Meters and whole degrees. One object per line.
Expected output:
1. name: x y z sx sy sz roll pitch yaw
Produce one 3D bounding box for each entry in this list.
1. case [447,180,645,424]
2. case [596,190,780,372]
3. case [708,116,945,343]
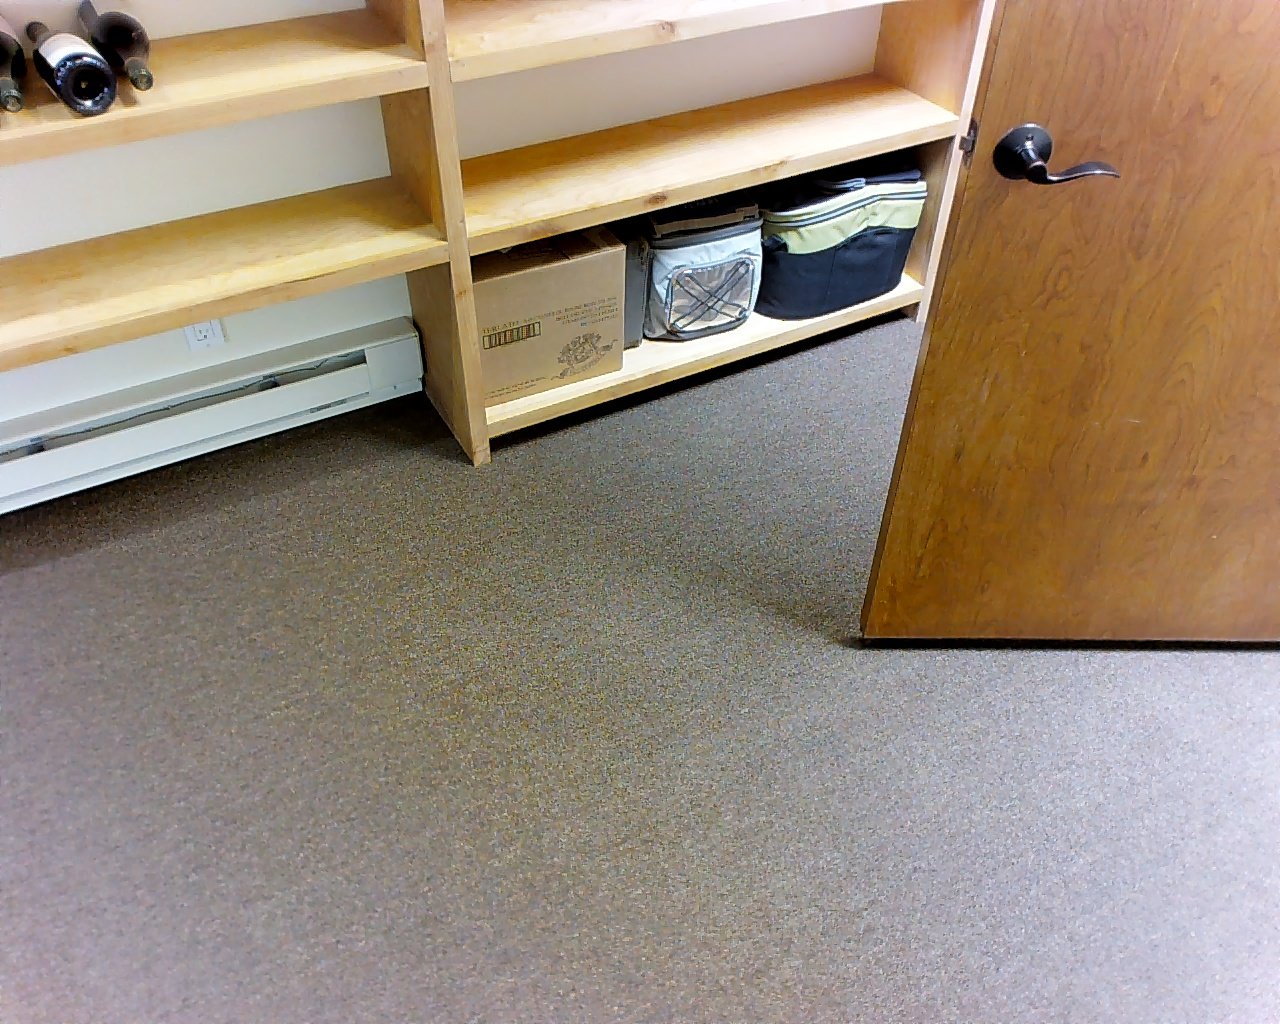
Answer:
1. case: -0.190 -0.440 2.230 0.310 0.360 0.260 -19 46 -21
2. case: 0.100 -0.530 2.430 0.300 0.240 0.290 -19 46 -21
3. case: 0.420 -0.670 2.510 0.390 0.340 0.330 -19 46 -21
